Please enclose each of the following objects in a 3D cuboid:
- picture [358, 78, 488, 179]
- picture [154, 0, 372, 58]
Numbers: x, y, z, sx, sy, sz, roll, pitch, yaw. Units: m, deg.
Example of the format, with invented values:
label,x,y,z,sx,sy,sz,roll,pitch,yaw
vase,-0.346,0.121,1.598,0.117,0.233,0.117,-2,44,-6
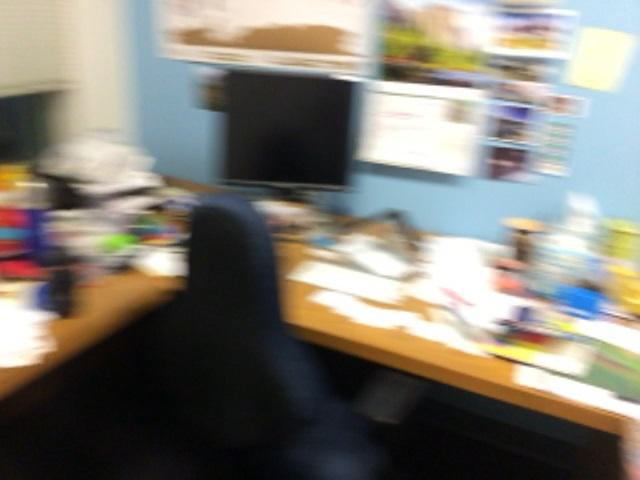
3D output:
label,x,y,z,sx,sy,sz,roll,pitch,yaw
picture,0.300,-0.340,1.740,0.360,0.260,0.070,10,22,22
picture,-0.200,-0.840,1.830,0.740,0.470,0.110,10,22,22
